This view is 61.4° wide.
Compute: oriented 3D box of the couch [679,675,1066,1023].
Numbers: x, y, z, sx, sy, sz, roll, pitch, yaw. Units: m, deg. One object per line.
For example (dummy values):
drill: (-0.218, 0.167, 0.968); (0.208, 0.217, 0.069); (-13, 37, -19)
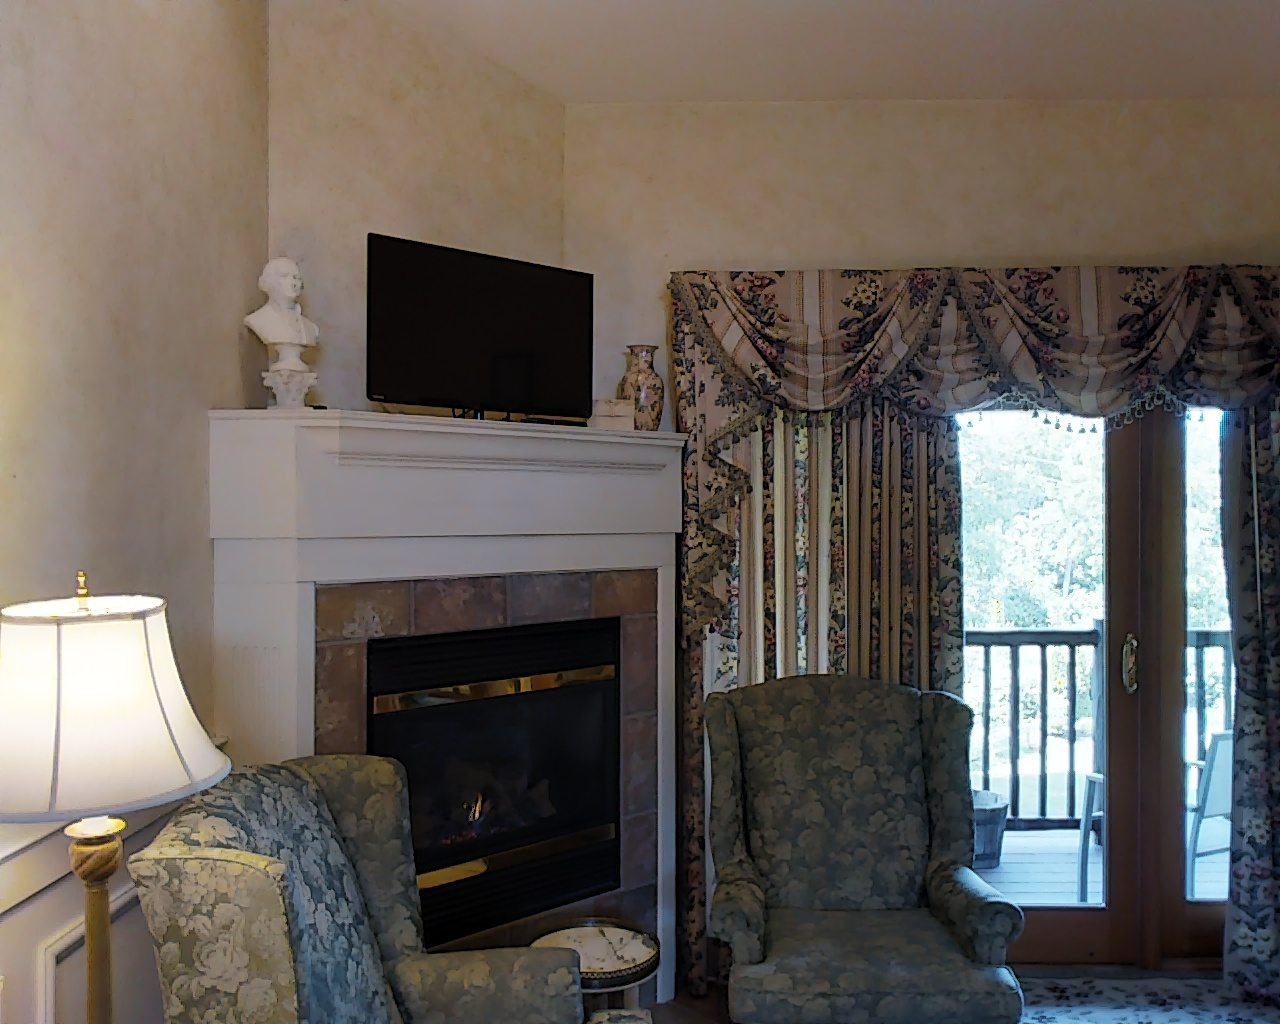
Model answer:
couch: (0.550, 1.020, 2.940); (0.850, 1.010, 0.950); (-1, -1, 1)

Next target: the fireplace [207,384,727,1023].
fireplace: (-0.410, 0.610, 3.040); (1.450, 1.780, 0.410); (0, -1, -43)

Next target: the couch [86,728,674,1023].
couch: (-0.390, 1.010, 2.080); (0.890, 1.020, 0.870); (-1, -1, 3)
